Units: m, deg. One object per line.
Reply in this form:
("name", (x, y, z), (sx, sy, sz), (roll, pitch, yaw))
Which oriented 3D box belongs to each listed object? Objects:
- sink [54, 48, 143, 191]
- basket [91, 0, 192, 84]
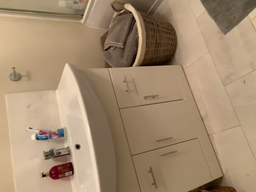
("sink", (-0.200, 0.250, 1.180), (0.500, 0.190, 0.870), (-39, 63, 56))
("basket", (0.070, -0.440, 1.640), (0.480, 0.490, 0.500), (-39, 62, 55))
